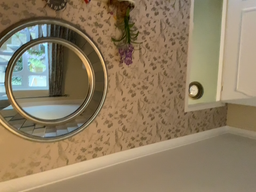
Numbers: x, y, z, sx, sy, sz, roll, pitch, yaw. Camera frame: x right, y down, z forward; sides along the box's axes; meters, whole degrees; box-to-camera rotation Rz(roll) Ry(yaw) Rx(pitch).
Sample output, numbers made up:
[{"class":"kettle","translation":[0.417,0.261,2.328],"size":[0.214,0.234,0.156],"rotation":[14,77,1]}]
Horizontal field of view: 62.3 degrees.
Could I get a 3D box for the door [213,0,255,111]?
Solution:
[{"class":"door","translation":[1.520,-0.910,2.600],"size":[0.060,2.170,0.790],"rotation":[-6,-170,-43]}]
